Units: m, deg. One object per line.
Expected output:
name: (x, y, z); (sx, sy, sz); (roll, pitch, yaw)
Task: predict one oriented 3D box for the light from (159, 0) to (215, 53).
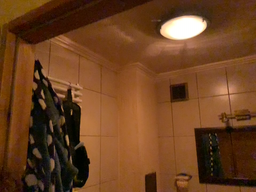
light: (0.320, -0.390, 1.220); (0.250, 0.290, 0.090); (-21, -103, 0)
